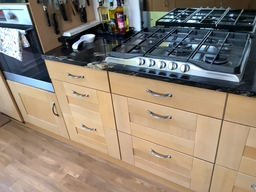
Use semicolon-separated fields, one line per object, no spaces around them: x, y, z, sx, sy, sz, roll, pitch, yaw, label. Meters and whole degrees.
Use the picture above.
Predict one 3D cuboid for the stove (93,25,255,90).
0.280;-0.270;1.180;0.730;0.050;0.590;14;38;27;stove
